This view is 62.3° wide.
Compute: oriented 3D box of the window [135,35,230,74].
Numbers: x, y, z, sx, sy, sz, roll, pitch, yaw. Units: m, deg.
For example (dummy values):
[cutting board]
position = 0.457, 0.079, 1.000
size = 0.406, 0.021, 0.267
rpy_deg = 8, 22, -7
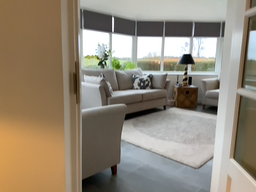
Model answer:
[window]
position = 1.440, -1.120, 5.730
size = 2.480, 0.960, 0.090
rpy_deg = 2, 10, 1
